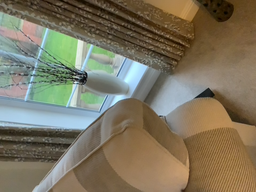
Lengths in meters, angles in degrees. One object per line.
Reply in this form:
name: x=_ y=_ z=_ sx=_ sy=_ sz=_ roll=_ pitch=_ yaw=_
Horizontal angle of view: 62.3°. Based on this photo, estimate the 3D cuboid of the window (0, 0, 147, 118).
window: x=-0.830 y=-0.310 z=1.500 sx=0.860 sy=1.950 sz=0.060 roll=-60 pitch=37 yaw=24
